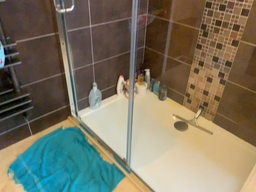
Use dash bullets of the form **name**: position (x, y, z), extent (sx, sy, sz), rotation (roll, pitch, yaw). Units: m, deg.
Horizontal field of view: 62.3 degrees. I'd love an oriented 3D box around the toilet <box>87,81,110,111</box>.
- **toilet**: position (-0.260, 0.000, 1.900), extent (0.190, 0.210, 0.070), rotation (-27, 44, -35)
